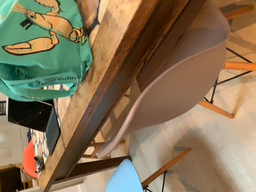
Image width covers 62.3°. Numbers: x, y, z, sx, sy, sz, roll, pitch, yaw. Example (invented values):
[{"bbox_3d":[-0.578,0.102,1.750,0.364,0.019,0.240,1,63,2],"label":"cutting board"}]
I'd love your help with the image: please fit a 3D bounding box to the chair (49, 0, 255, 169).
[{"bbox_3d":[0.190,-0.130,0.840,0.440,0.810,0.520,-52,51,45],"label":"chair"}]
